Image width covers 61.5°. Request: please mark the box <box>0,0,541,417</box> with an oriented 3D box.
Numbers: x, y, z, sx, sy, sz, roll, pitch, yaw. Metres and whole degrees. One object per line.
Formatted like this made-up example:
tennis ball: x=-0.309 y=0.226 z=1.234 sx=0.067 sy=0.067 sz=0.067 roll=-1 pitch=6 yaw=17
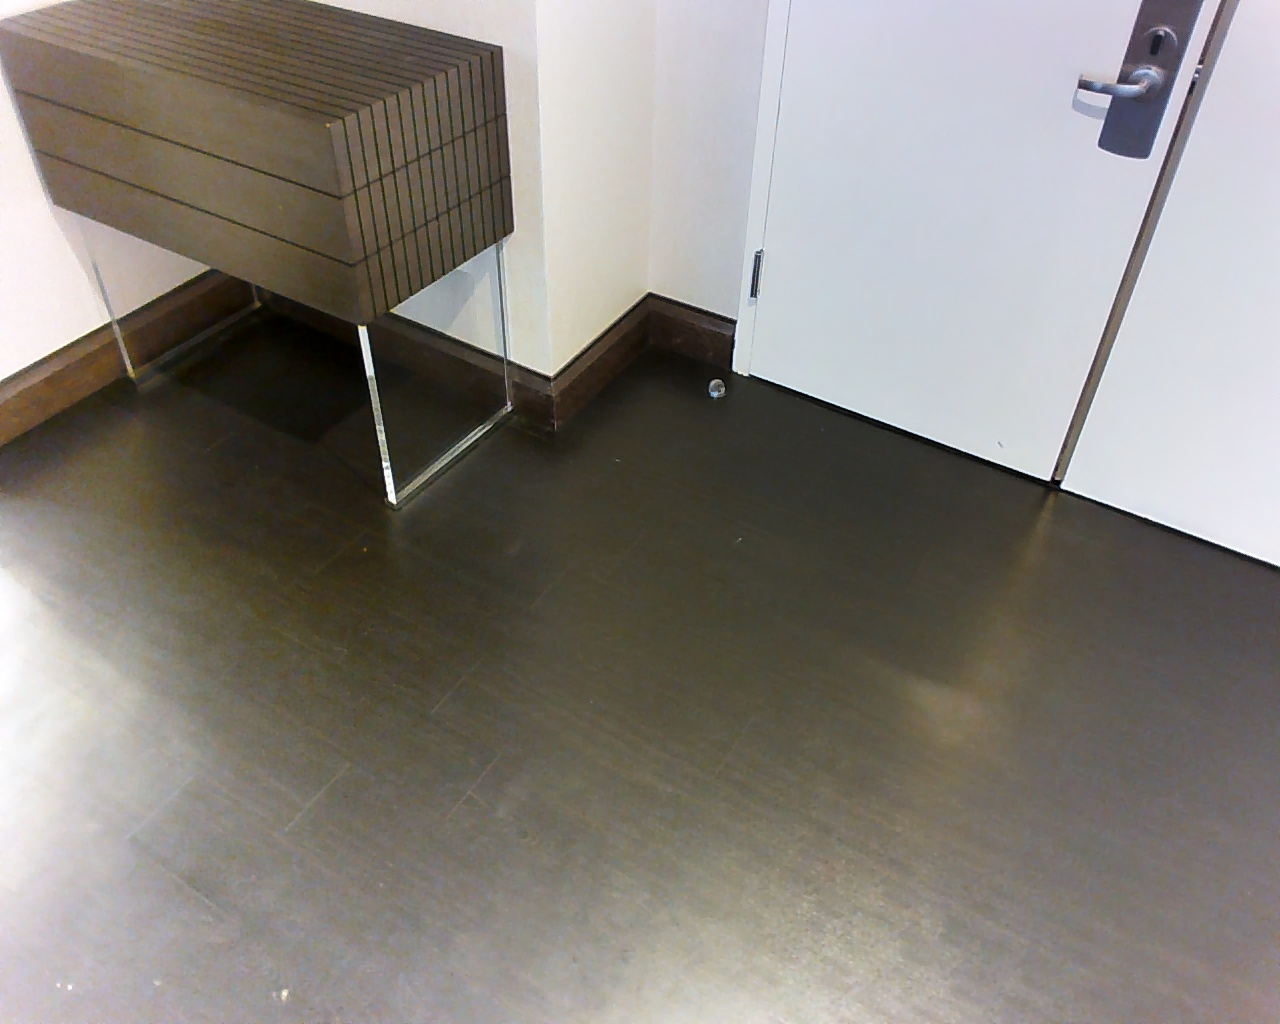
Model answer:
box: x=-0.750 y=-0.710 z=2.240 sx=0.950 sy=0.570 sz=0.500 roll=23 pitch=46 yaw=22
